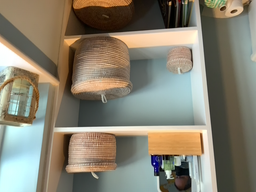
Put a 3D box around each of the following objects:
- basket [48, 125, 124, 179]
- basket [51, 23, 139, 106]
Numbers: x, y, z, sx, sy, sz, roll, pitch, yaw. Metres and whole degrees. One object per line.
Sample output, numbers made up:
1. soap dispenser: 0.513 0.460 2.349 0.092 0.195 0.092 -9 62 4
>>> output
1. basket: -0.180 0.280 1.060 0.280 0.220 0.300 -1 164 7
2. basket: -0.140 -0.140 1.160 0.370 0.310 0.360 -2 164 8
